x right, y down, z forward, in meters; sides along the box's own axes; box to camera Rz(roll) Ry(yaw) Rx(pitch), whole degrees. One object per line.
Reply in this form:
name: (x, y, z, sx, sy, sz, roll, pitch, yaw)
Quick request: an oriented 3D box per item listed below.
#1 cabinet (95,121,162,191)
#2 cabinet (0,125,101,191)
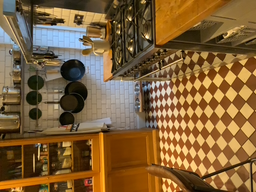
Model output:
cabinet: (-0.010, 0.930, 3.050, 0.480, 0.820, 1.070, 168, 101, -70)
cabinet: (-1.030, 0.960, 2.750, 0.350, 1.300, 1.070, 168, 101, -70)
